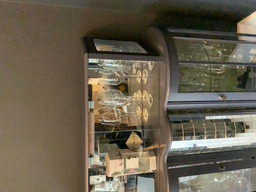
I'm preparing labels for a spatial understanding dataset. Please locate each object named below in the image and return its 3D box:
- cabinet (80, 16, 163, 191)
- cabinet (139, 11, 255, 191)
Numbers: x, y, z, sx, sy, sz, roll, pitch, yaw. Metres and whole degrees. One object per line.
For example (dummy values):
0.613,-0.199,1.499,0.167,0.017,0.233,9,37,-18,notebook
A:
-0.050,0.150,1.000,0.320,0.310,0.910,-170,79,-73,cabinet
0.510,0.140,1.140,0.360,0.830,0.980,-170,79,-73,cabinet
